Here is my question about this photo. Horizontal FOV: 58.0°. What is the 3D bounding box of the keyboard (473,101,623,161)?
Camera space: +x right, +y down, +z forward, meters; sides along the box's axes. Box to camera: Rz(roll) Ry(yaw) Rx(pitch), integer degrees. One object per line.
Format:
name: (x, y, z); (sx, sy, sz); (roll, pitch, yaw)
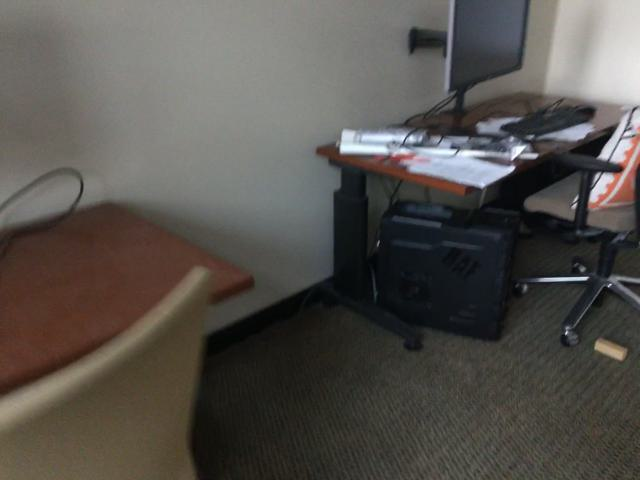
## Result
keyboard: (0.920, -0.450, 2.310); (0.610, 0.140, 0.300); (-19, 24, -39)

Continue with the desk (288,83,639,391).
desk: (0.730, -0.180, 2.530); (1.530, 0.850, 0.800); (-19, 24, -39)
